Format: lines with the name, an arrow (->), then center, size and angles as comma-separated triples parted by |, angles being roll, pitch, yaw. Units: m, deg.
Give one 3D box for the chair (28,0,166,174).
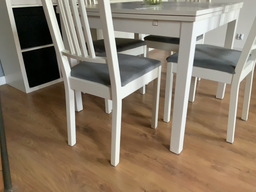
chair -> -0.110, -0.200, 1.140 | 0.420, 0.980, 0.530 | 14, 29, 27
